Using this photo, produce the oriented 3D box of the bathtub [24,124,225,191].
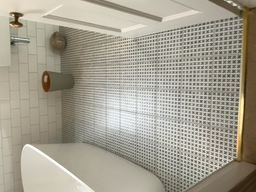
[{"bbox_3d":[-0.240,0.800,1.650,1.690,0.550,0.780,8,99,47],"label":"bathtub"}]
